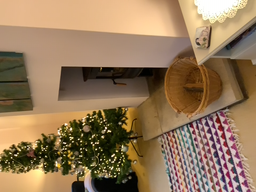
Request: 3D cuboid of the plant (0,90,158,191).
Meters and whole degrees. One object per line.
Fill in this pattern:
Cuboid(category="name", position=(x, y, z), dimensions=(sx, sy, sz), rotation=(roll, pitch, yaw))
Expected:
Cuboid(category="plant", position=(-0.660, 0.580, 2.620), dimensions=(0.890, 1.650, 1.010), rotation=(135, 129, -61))

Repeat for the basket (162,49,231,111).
Cuboid(category="basket", position=(0.460, -0.100, 1.500), dimensions=(0.340, 0.240, 0.320), rotation=(137, 127, -62))
